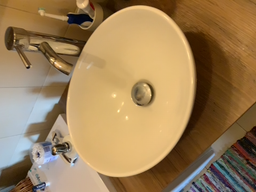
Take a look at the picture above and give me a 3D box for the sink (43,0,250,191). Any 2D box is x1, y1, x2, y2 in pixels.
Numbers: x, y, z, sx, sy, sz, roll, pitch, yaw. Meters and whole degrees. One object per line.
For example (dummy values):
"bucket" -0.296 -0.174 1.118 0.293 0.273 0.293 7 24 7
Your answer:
"sink" -0.010 -0.010 0.550 0.360 0.130 0.430 47 119 25
